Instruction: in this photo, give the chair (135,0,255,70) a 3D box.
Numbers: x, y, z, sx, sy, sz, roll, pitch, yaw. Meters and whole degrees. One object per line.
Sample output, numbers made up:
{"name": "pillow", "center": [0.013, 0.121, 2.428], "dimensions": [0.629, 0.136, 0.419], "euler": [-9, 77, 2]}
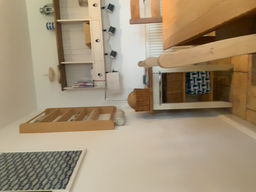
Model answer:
{"name": "chair", "center": [0.560, -0.450, 1.280], "dimensions": [0.440, 1.000, 0.540], "euler": [-100, 8, -82]}
